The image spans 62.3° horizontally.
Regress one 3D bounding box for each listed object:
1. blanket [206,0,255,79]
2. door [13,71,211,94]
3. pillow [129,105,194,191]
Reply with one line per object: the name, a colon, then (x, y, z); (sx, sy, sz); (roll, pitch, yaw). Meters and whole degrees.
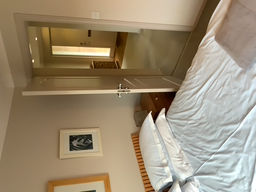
blanket: (0.680, -0.420, 1.210); (0.490, 0.080, 0.410); (106, 157, -44)
door: (-0.180, -0.210, 2.720); (1.040, 2.130, 0.080); (-141, 51, -68)
pillow: (0.290, 0.560, 2.210); (0.510, 0.310, 0.770); (107, 155, -46)
